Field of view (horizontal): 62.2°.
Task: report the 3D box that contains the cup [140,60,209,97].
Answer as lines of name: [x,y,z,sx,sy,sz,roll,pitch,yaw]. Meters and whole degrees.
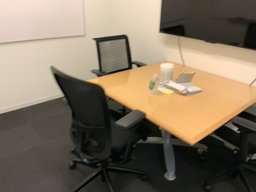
cup: [0.430,-0.190,2.010,0.380,0.140,0.490,-21,34,-39]

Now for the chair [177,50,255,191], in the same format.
chair: [0.980,0.270,1.740,0.720,1.080,0.680,-19,33,-37]

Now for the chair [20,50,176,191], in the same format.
chair: [-0.220,0.280,1.650,0.760,1.030,0.730,25,33,39]
